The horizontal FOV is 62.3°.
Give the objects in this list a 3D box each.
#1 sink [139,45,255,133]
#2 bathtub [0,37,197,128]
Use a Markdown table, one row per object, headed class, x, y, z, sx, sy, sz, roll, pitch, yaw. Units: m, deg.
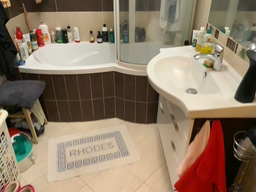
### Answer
| class | x | y | z | sx | sy | sz | roll | pitch | yaw |
| --- | --- | --- | --- | --- | --- | --- | --- | --- | --- |
| sink | 0.350 | -0.110 | 1.370 | 0.510 | 0.160 | 0.850 | 0 | 32 | -1 |
| bathtub | -0.280 | -0.210 | 2.330 | 1.690 | 0.600 | 0.930 | -1 | 32 | -3 |
